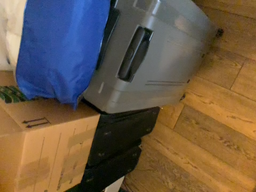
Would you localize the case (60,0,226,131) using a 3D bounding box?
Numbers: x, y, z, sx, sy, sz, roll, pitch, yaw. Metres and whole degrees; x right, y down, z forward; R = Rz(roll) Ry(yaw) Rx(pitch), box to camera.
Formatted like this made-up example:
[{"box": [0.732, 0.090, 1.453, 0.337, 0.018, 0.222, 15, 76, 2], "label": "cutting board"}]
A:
[{"box": [0.130, -0.190, 1.000, 0.300, 0.720, 0.500, 30, 109, 30], "label": "case"}]
